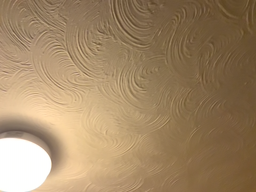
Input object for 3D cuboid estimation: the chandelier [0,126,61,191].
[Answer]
[{"bbox_3d":[-0.380,0.230,0.680,0.240,0.070,0.210,-17,121,4],"label":"chandelier"}]
